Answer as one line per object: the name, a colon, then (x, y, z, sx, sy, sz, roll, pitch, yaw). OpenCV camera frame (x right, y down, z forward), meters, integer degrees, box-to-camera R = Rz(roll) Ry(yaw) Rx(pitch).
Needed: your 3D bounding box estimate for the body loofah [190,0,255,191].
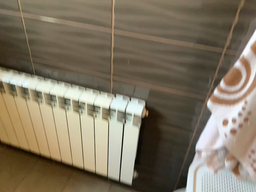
body loofah: (0.530, -0.010, 0.740, 0.350, 1.000, 0.230, 15, 38, 13)

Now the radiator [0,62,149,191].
radiator: (-0.430, 0.220, 1.330, 1.030, 0.750, 0.110, 14, 38, 12)
